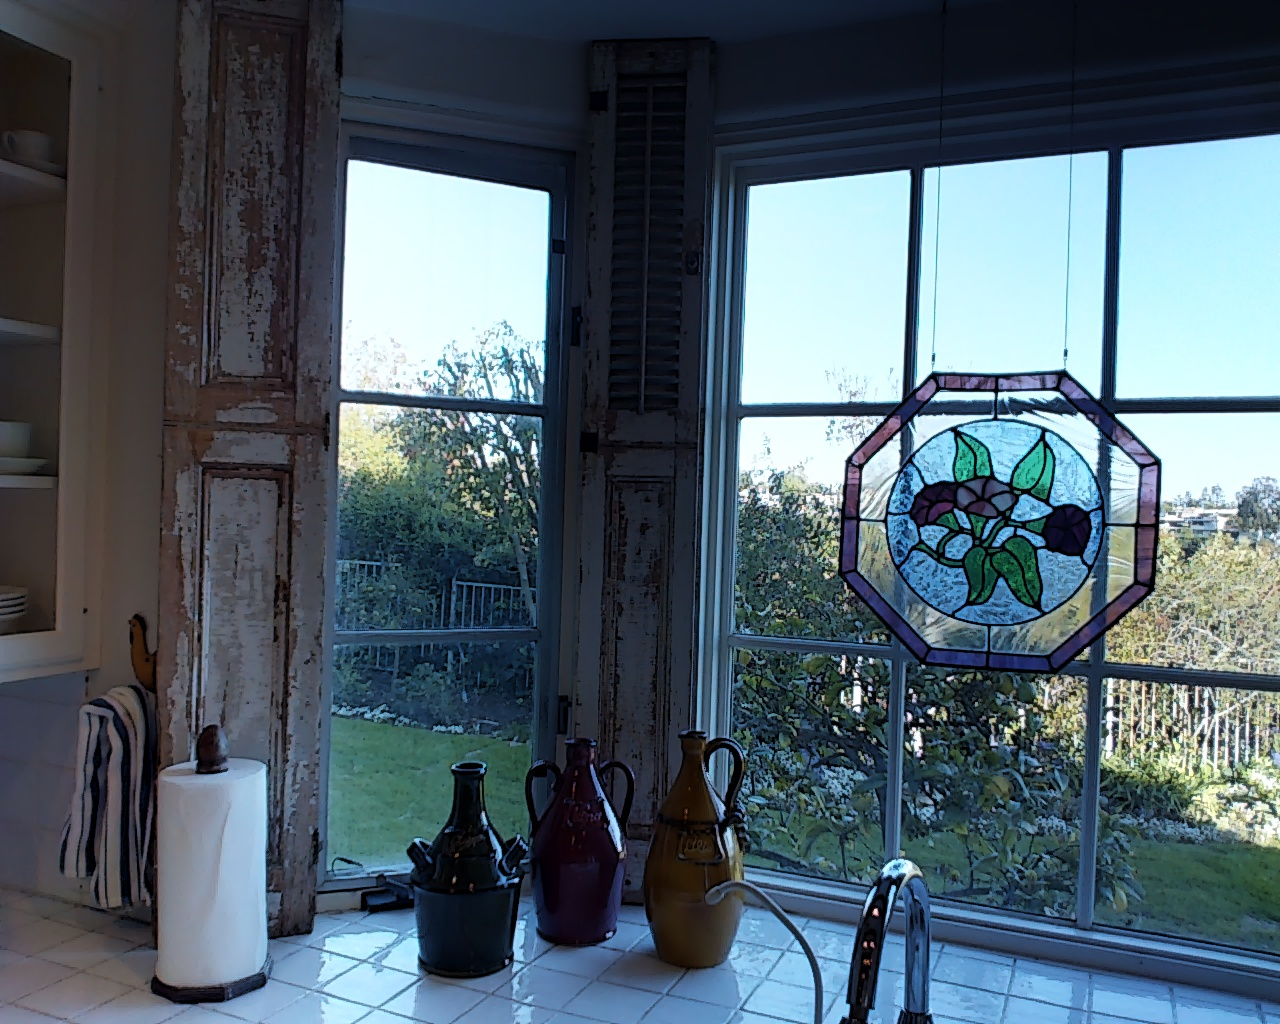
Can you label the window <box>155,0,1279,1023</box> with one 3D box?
[{"bbox_3d":[0.440,-0.070,1.480,2.210,1.540,0.730,2,1,25],"label":"window"}]
